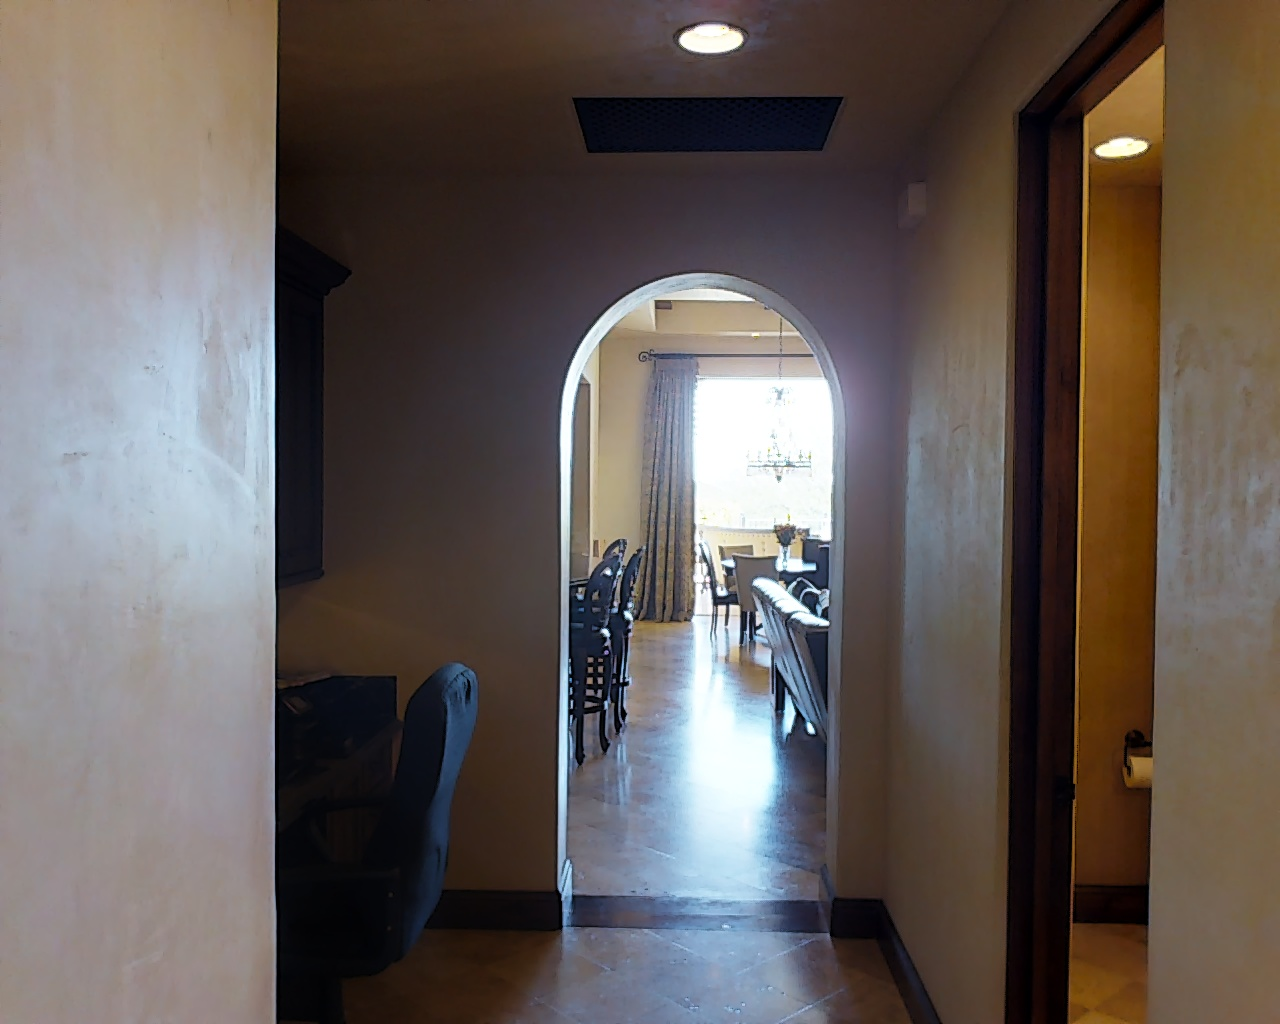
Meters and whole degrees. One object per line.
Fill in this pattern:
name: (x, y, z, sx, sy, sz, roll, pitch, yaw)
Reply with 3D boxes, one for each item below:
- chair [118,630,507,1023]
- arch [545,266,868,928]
chair: (-0.780, 0.940, 2.740, 0.760, 1.170, 0.690, 1, 2, 2)
arch: (0.240, 0.300, 4.080, 1.120, 2.350, 0.520, 1, 2, 2)
